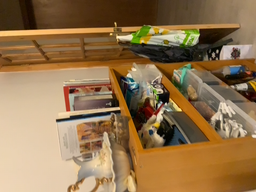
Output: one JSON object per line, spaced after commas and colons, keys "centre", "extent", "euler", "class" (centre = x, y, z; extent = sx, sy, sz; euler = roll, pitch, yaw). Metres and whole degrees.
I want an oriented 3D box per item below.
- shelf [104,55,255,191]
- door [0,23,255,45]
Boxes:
{"centre": [0.450, 0.070, 1.210], "extent": [0.880, 1.060, 0.300], "euler": [-114, 21, -59], "class": "shelf"}
{"centre": [-0.020, -0.540, 1.760], "extent": [0.860, 1.760, 0.050], "euler": [-121, 27, -66], "class": "door"}
